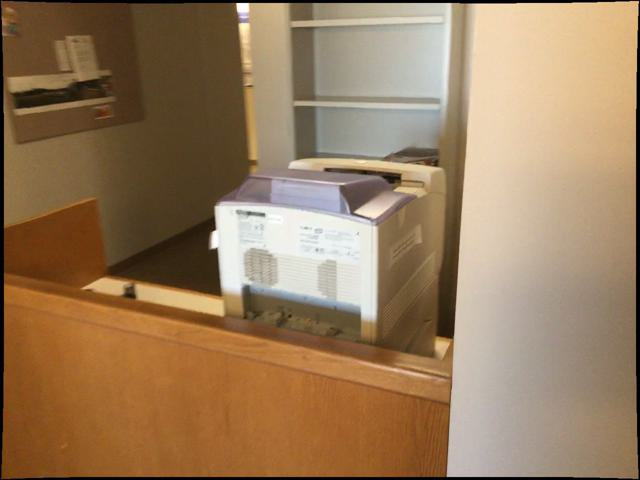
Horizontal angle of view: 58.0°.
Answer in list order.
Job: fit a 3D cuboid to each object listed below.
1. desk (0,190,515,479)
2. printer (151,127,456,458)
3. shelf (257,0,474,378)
[{"bbox_3d":[-0.329,0.501,1.820,1.647,1.042,0.780,6,22,24],"label":"desk"},{"bbox_3d":[0.020,0.060,1.540,0.529,0.601,0.650,6,22,24],"label":"printer"},{"bbox_3d":[0.239,-0.361,2.730,0.838,1.934,0.410,6,22,24],"label":"shelf"}]
